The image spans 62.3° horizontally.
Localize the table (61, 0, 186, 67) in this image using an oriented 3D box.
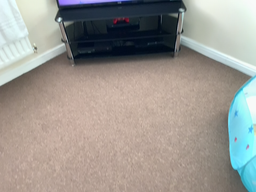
[{"bbox_3d":[-0.040,-0.630,2.130,1.090,0.490,0.320,-5,46,-1],"label":"table"}]
